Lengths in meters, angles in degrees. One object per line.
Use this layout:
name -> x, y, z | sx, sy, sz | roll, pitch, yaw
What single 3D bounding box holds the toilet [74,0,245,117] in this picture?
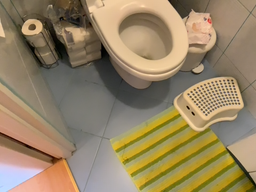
toilet -> 0.040, -0.390, 1.010 | 0.420, 0.770, 0.660 | -26, 69, -11
